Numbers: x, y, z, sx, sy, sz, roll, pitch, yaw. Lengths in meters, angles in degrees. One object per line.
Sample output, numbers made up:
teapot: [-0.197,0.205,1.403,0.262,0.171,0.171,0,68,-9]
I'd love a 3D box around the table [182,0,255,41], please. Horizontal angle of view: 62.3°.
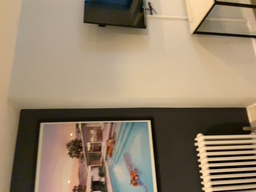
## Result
table: [0.960,-1.120,2.070,0.410,0.770,1.050,113,155,-69]
